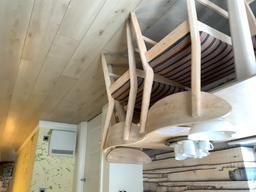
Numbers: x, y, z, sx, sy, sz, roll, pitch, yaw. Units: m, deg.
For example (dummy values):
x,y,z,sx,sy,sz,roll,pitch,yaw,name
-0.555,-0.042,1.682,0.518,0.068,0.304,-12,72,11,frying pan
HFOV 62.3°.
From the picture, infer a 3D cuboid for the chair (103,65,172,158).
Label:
x,y,z,sx,sy,sz,roll,pitch,yaw,name
0.070,0.200,2.230,0.480,0.800,0.530,11,155,-25,chair
